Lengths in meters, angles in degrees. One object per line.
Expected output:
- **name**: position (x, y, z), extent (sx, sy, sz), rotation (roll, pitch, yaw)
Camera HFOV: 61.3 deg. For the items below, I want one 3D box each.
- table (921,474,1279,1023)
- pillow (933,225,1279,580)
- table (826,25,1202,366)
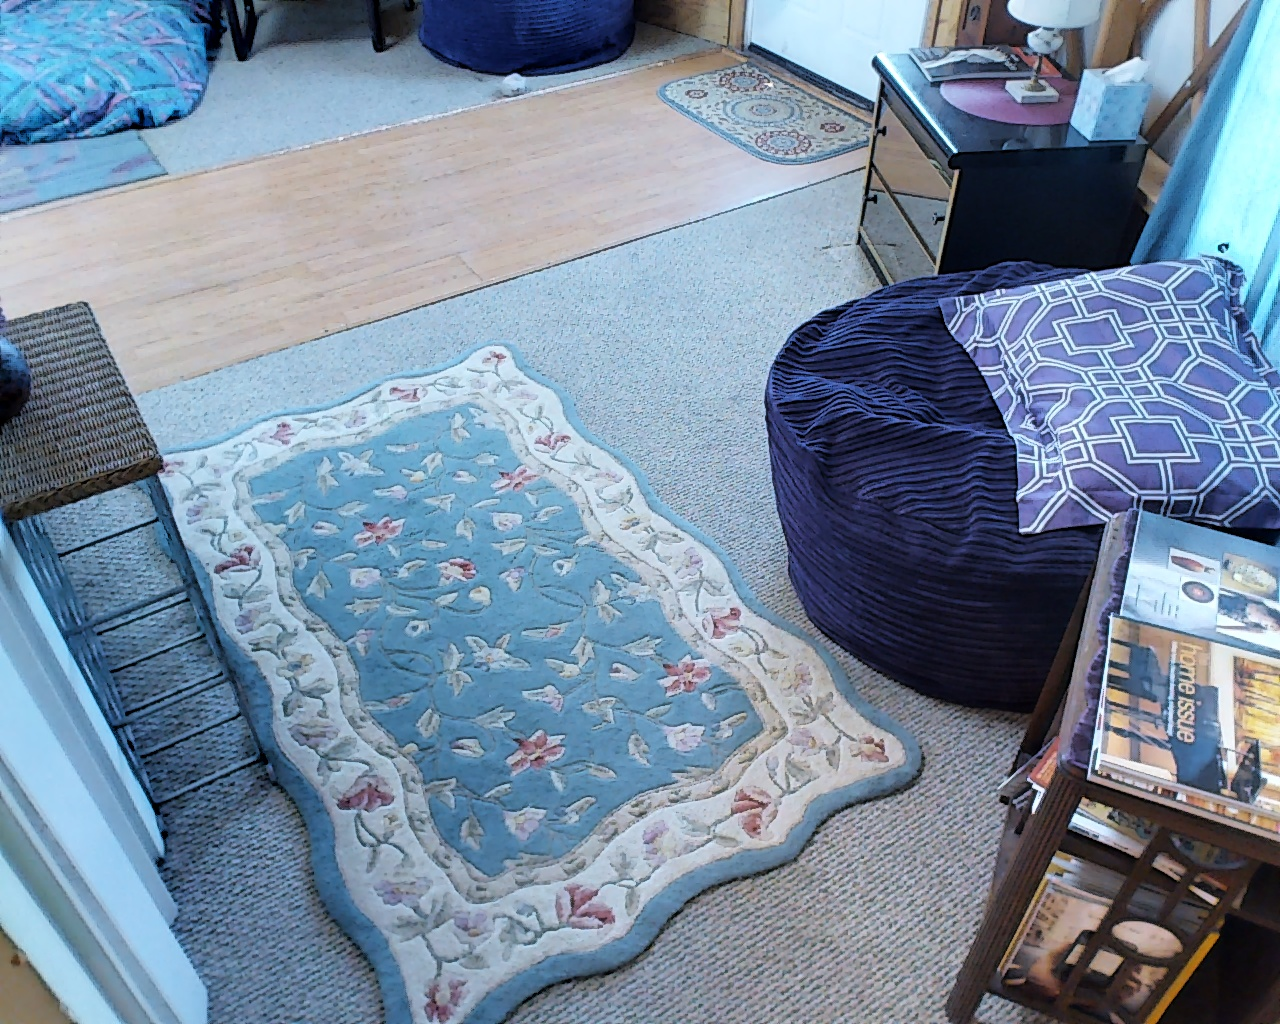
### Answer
- **table**: position (0.710, 0.400, 1.410), extent (0.440, 0.630, 0.500), rotation (19, 45, 19)
- **pillow**: position (0.850, -0.230, 1.950), extent (0.480, 0.240, 0.730), rotation (2, 42, 2)
- **table**: position (0.920, -0.860, 2.880), extent (0.620, 0.590, 0.740), rotation (-3, 42, -5)
